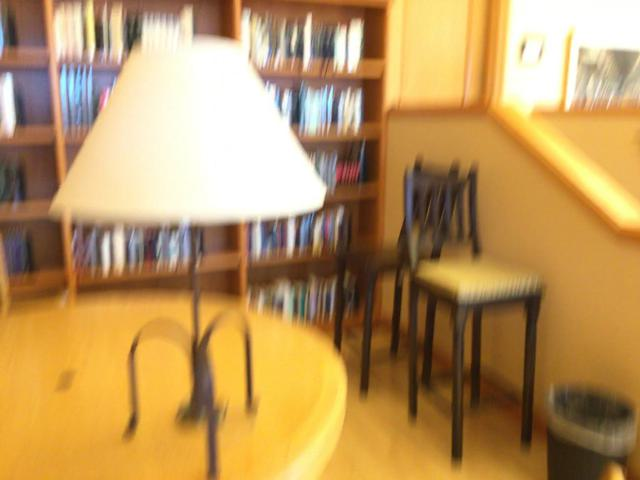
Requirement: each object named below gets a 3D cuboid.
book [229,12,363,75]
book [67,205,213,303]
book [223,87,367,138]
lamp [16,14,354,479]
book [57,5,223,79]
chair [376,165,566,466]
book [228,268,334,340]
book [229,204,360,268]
[{"bbox_3d":[-0.140,-1.140,3.400,0.720,0.300,0.300,-6,14,-22],"label":"book"},{"bbox_3d":[-1.010,0.060,3.270,0.730,0.430,0.300,-6,14,-22],"label":"book"},{"bbox_3d":[-0.140,-0.770,3.480,0.840,0.280,0.210,-6,14,-22],"label":"book"},{"bbox_3d":[-0.240,0.020,1.100,0.490,0.770,0.380,-6,14,-22],"label":"lamp"},{"bbox_3d":[-0.950,-1.030,3.070,0.780,0.310,0.370,-6,14,-22],"label":"book"},{"bbox_3d":[0.640,0.280,2.640,0.520,1.170,0.620,-6,14,-22],"label":"chair"},{"bbox_3d":[-0.250,0.400,3.730,0.600,0.300,0.330,-6,14,-22],"label":"book"},{"bbox_3d":[-0.160,-0.040,3.690,0.770,0.280,0.320,-6,14,-22],"label":"book"}]
